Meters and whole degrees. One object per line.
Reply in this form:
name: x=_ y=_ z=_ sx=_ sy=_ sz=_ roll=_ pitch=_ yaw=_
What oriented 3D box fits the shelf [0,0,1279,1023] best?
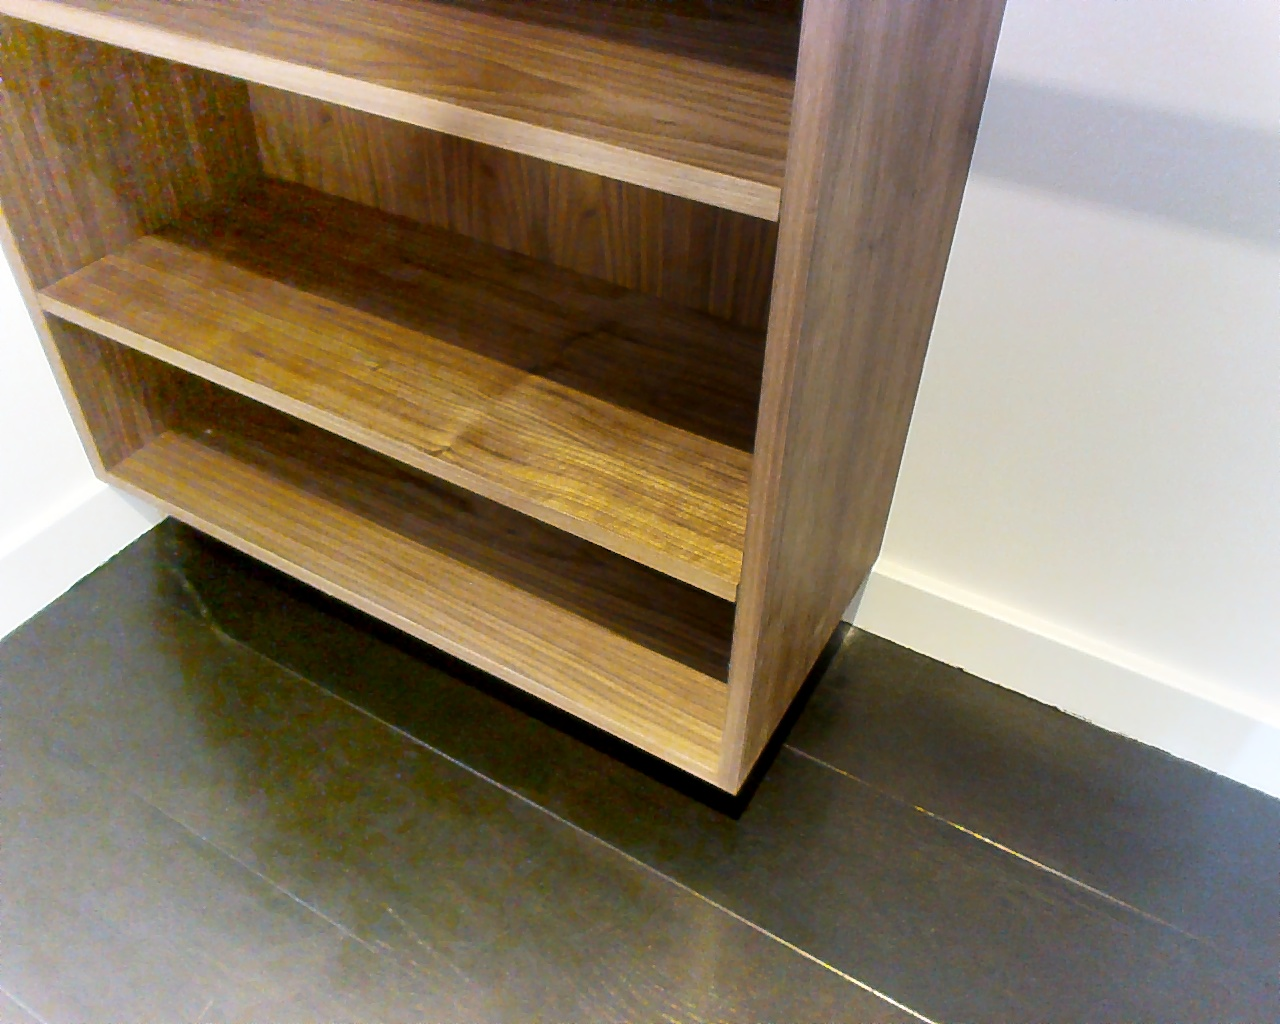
shelf: x=0.160 y=-0.560 z=0.380 sx=1.560 sy=2.070 sz=0.360 roll=22 pitch=46 yaw=22
